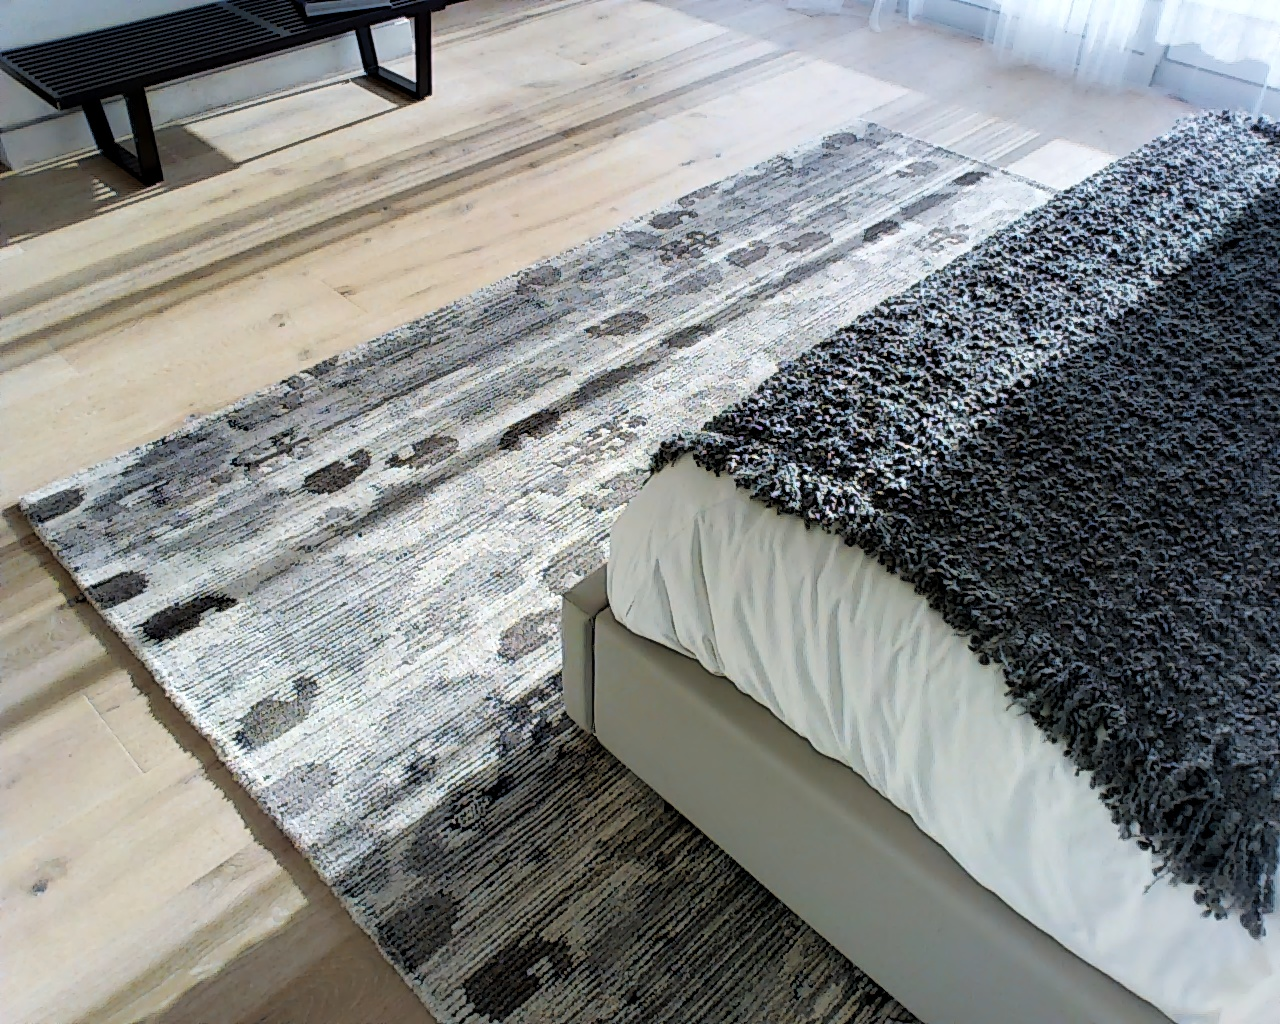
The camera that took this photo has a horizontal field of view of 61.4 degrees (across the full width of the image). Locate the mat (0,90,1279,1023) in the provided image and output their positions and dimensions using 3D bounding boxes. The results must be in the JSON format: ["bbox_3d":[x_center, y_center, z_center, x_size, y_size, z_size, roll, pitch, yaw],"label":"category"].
[{"bbox_3d":[0.580,-0.170,2.530,3.170,0.110,2.500,-33,53,-32],"label":"mat"}]
